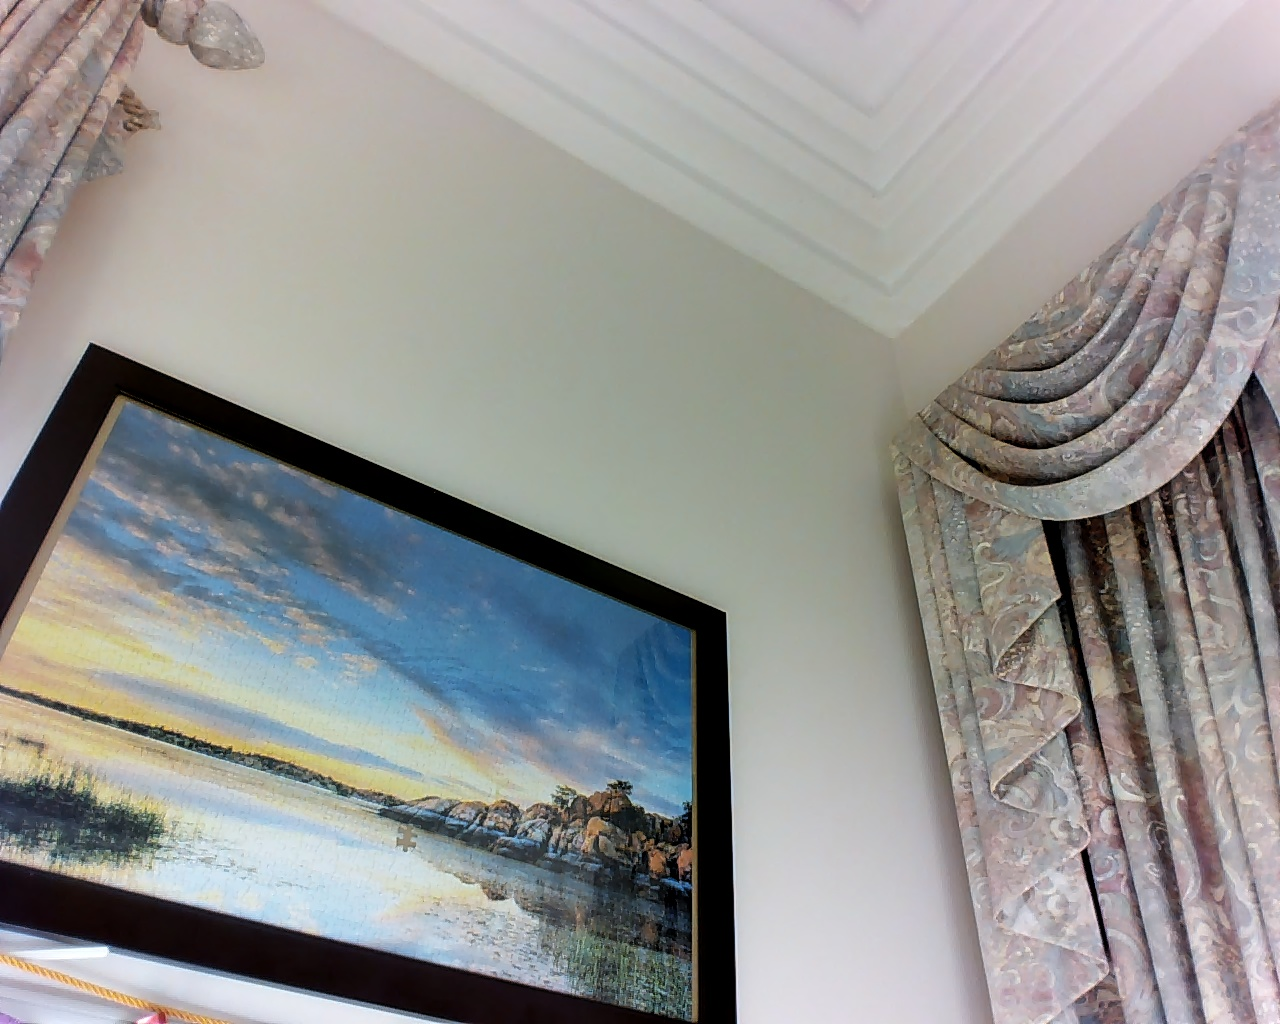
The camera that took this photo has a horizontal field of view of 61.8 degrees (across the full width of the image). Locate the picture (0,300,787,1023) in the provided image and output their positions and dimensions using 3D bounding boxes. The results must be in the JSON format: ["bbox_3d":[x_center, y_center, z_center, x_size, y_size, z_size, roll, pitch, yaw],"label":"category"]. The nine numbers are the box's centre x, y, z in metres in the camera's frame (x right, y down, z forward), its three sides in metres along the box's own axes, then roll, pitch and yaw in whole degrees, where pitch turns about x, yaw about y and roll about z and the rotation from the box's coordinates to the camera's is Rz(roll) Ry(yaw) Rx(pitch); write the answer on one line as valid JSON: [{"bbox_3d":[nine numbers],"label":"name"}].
[{"bbox_3d":[-0.240,0.190,1.120,0.900,0.620,0.060,23,-45,-24],"label":"picture"}]
